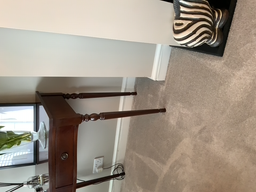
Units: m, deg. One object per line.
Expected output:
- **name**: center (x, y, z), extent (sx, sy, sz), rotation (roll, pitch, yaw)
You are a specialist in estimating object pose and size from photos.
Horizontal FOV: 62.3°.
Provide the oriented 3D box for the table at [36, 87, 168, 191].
- **table**: center (-0.220, 0.410, 1.520), extent (0.450, 0.750, 0.840), rotation (32, 119, 53)
